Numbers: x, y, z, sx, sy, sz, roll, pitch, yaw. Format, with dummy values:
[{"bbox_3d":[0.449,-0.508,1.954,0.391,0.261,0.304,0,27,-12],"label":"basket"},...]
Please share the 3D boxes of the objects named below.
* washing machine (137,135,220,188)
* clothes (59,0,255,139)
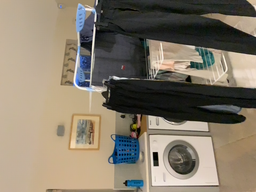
[{"bbox_3d":[0.620,0.920,2.890,0.670,0.840,0.600,115,157,-63],"label":"washing machine"},{"bbox_3d":[0.440,-0.300,1.720,0.920,1.720,1.000,113,159,-61],"label":"clothes"}]
